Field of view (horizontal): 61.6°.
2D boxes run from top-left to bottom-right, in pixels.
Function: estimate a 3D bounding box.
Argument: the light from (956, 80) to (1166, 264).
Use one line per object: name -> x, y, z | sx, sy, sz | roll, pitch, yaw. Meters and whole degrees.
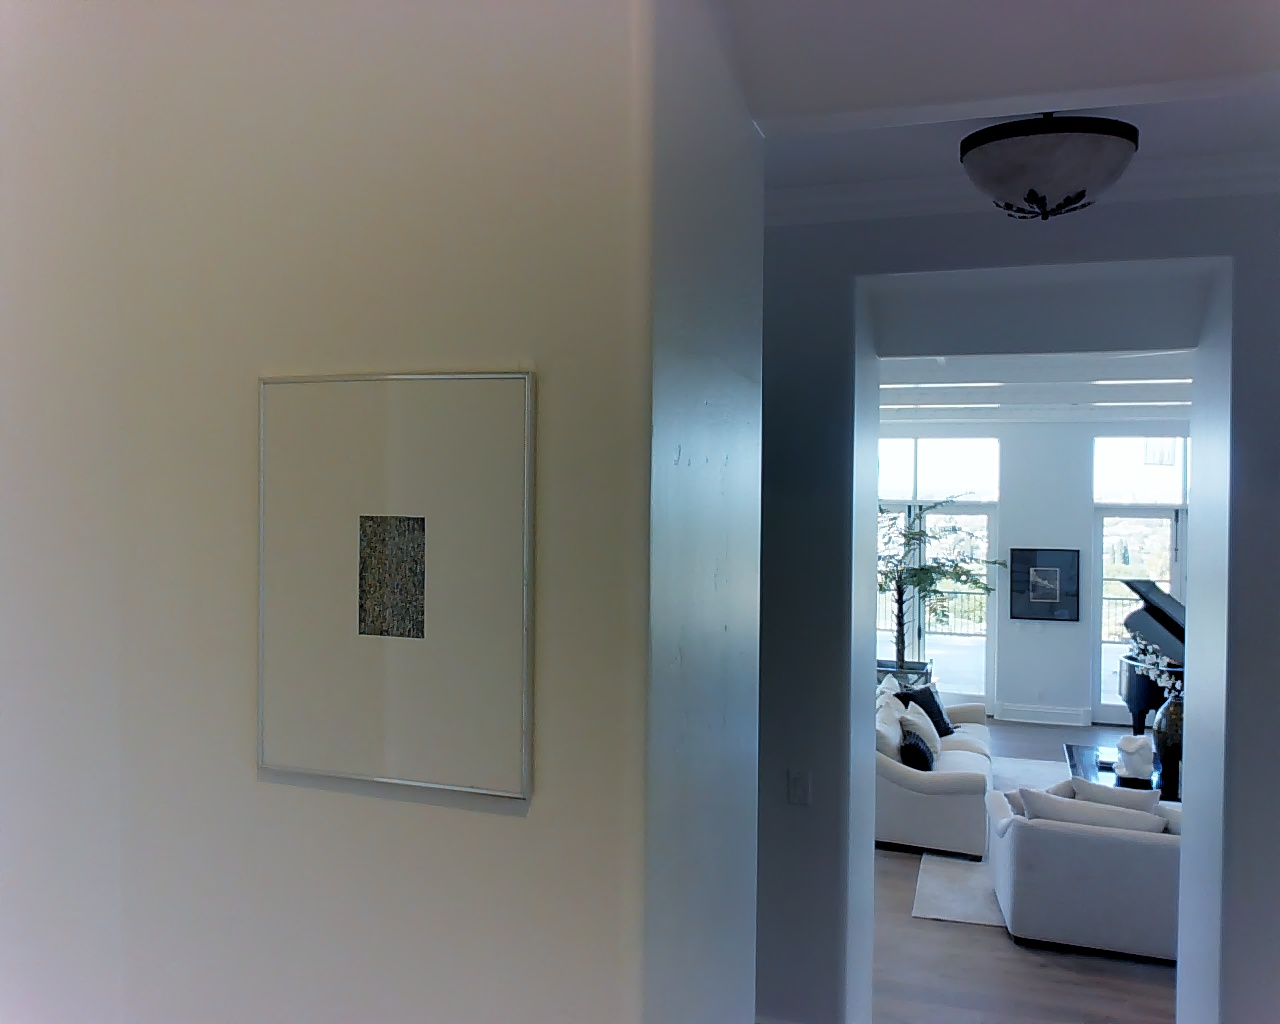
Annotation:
light -> 1.100, -0.870, 2.830 | 0.470, 0.300, 0.480 | 1, 1, 21
